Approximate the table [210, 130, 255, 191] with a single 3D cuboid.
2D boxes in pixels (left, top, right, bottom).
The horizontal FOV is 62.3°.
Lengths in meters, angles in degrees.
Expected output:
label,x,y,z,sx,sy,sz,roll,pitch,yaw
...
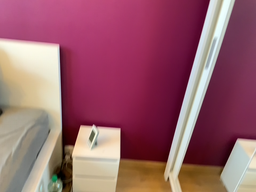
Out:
label,x,y,z,sx,sy,sz,roll,pitch,yaw
table,0.940,0.580,1.740,0.300,0.460,0.320,7,28,-3
